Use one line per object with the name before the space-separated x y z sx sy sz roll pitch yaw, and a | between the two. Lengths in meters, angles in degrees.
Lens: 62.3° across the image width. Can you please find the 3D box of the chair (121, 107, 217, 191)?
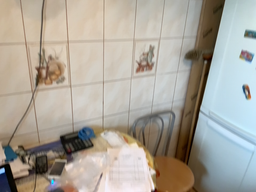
chair | 0.250 0.560 1.590 0.390 0.760 0.480 -11 28 -29
